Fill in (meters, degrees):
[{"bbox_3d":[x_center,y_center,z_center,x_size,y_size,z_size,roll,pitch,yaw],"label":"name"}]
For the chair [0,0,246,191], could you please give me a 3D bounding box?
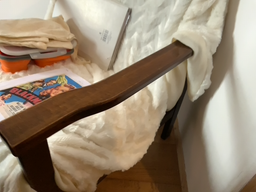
[{"bbox_3d":[-0.210,-0.100,0.690,0.700,0.750,0.740,36,49,28],"label":"chair"}]
